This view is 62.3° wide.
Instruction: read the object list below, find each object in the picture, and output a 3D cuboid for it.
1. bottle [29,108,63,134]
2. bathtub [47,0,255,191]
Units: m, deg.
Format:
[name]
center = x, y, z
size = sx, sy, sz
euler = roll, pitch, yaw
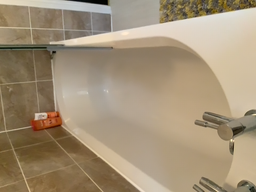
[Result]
[bottle]
center = -0.660, 0.200, 1.710
size = 0.140, 0.220, 0.090
euler = 62, 141, 25
[bathtub]
center = 0.080, -0.030, 1.260
size = 1.650, 0.590, 0.700
euler = 13, 108, 53
